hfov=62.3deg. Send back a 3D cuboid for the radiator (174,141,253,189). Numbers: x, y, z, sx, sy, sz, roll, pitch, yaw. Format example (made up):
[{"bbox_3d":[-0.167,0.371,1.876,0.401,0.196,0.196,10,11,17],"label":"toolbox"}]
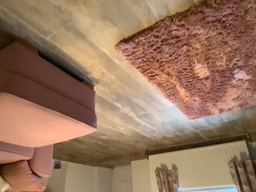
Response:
[{"bbox_3d":[1.260,1.070,3.270,1.030,0.590,0.060,-16,150,24],"label":"radiator"}]
